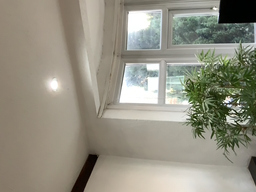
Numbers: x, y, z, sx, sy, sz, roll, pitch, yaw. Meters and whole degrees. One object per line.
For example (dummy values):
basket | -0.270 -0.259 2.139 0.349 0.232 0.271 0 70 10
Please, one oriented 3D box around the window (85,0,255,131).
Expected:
window | 0.570 -0.430 2.060 0.130 1.770 1.490 69 -156 -64
